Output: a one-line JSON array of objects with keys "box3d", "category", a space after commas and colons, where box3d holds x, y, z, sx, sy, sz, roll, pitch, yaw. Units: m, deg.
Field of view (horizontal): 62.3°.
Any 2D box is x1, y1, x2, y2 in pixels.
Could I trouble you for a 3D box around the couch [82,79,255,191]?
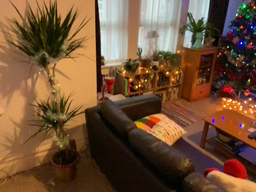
[{"box3d": [0.400, 0.550, 1.610, 0.800, 0.750, 1.790, -13, 28, -31], "category": "couch"}]
